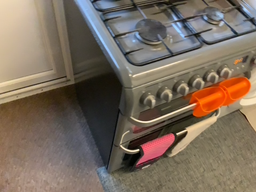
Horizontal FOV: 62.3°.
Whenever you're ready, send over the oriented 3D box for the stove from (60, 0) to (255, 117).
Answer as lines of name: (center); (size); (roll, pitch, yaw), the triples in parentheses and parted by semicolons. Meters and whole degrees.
stove: (0.110, -0.320, 0.820); (0.600, 0.180, 0.620); (-19, 63, -19)
